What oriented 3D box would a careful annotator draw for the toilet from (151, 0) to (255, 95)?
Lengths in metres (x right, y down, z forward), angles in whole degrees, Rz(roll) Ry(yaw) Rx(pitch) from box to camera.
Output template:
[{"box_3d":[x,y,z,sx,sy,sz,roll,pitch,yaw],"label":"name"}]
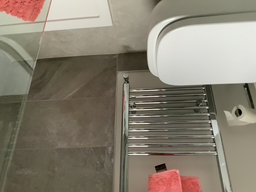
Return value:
[{"box_3d":[0.350,-0.310,0.880,0.490,0.450,0.400,-3,152,6],"label":"toilet"}]
